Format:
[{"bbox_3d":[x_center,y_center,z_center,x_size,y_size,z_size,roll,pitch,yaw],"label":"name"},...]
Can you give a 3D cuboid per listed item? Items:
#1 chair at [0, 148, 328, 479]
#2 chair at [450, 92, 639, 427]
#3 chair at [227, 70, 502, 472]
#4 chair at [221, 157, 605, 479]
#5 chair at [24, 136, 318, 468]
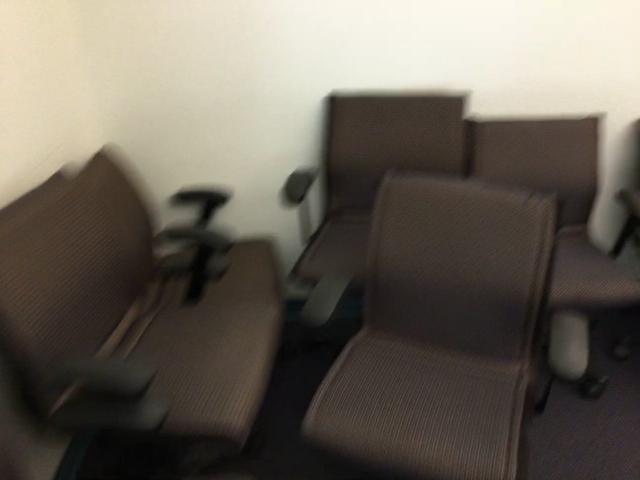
[{"bbox_3d":[-0.430,0.330,1.510,0.720,0.940,0.660,-7,17,7],"label":"chair"},{"bbox_3d":[0.800,0.040,1.970,0.560,0.940,0.560,-7,17,8],"label":"chair"},{"bbox_3d":[0.230,0.070,1.930,0.640,1.100,0.640,-3,18,20],"label":"chair"},{"bbox_3d":[0.310,0.340,1.430,0.680,0.910,0.660,-1,19,24],"label":"chair"},{"bbox_3d":[-0.410,0.170,2.010,0.620,0.880,0.680,-7,17,7],"label":"chair"}]
